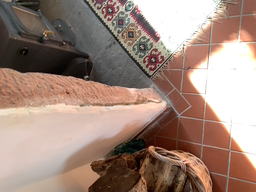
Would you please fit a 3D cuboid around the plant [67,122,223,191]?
[{"bbox_3d":[0.140,0.530,1.150,0.430,0.580,0.580,-45,69,23],"label":"plant"}]
